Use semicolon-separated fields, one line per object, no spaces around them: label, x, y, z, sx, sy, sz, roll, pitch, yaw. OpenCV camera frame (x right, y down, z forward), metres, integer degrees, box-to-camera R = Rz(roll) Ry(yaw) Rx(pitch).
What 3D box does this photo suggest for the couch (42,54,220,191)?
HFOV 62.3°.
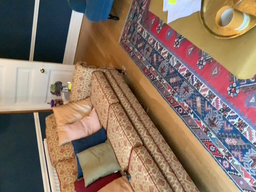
couch;-0.200;0.590;2.100;2.060;0.860;1.030;57;135;42
